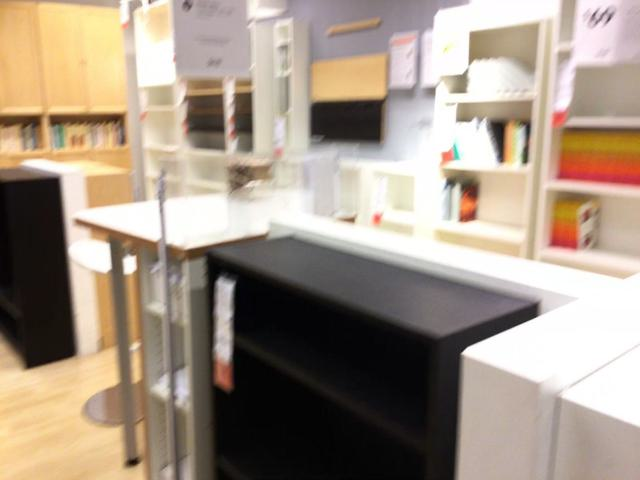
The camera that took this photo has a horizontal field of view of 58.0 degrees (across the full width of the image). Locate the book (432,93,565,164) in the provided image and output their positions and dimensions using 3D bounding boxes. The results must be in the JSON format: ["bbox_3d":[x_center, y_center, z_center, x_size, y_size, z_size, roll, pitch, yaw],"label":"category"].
[{"bbox_3d":[0.890,-0.580,2.960,0.240,0.320,0.610,-12,17,-36],"label":"book"}]

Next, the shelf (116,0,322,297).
[{"bbox_3d":[-1.040,-0.960,5.240,0.420,2.290,2.780,-12,17,-36],"label":"shelf"}]

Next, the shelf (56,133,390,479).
[{"bbox_3d":[-0.350,0.280,2.210,0.860,1.290,0.870,-12,17,-36],"label":"shelf"}]

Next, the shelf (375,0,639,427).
[{"bbox_3d":[1.050,-0.210,2.850,0.330,1.770,1.900,-12,17,-36],"label":"shelf"}]

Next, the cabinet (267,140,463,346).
[{"bbox_3d":[0.220,-0.080,3.890,0.290,1.100,1.570,-12,17,-36],"label":"cabinet"}]

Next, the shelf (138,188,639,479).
[{"bbox_3d":[0.270,0.520,1.530,0.940,1.090,1.270,-12,17,-36],"label":"shelf"}]
